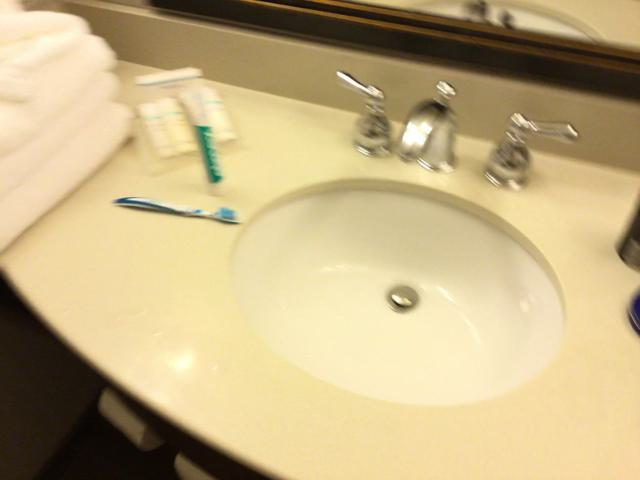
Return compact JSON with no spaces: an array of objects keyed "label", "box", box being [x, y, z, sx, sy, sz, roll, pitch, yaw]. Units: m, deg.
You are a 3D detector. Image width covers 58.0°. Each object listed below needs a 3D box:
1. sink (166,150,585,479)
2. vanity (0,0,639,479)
[{"label":"sink","box":[0.090,0.100,0.780,0.430,0.180,0.350,16,49,15]},{"label":"vanity","box":[0.090,0.090,0.800,1.470,0.420,0.600,16,49,15]}]
